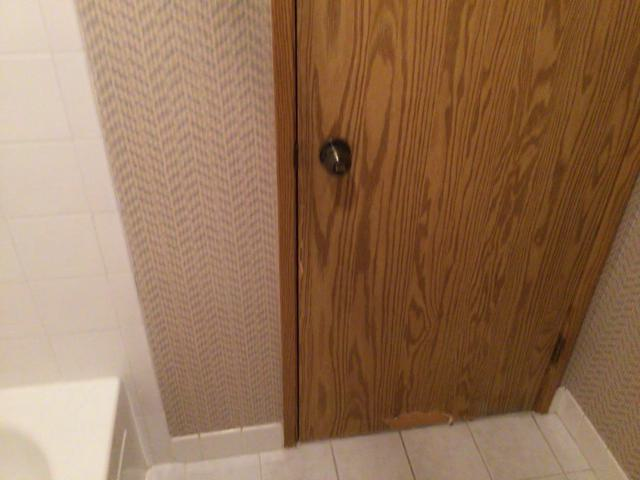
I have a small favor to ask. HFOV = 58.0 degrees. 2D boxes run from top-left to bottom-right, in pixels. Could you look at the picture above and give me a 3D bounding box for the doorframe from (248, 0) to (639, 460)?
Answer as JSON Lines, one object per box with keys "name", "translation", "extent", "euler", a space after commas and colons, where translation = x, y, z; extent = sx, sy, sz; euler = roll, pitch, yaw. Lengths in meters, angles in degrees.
{"name": "doorframe", "translation": [0.300, -0.180, 1.120], "extent": [0.860, 1.800, 0.040], "euler": [-4, 36, -10]}
